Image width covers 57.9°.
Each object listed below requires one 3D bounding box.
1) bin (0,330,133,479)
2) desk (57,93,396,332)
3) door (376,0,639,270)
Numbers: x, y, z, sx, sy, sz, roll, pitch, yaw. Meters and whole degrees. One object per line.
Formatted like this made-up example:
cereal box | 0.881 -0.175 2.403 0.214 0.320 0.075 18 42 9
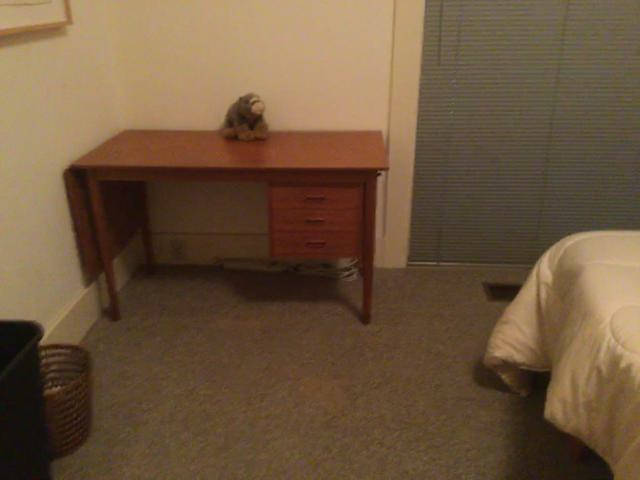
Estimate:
bin | -0.800 0.500 1.760 0.290 0.290 0.370 -1 23 3
desk | -0.300 -0.130 2.400 1.170 0.810 0.590 -1 23 3
door | 0.930 -0.800 2.380 1.390 1.980 0.090 -1 23 3
